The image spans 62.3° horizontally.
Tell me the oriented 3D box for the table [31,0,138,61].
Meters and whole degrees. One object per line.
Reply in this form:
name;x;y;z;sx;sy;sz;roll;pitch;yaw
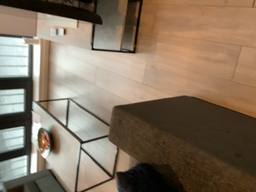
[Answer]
table;-0.450;-0.610;1.890;1.010;0.440;0.400;23;111;43
